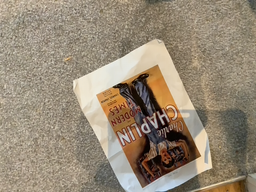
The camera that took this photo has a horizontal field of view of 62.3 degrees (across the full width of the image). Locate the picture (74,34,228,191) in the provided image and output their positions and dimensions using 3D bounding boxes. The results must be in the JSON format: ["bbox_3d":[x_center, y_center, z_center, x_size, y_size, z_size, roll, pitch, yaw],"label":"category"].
[{"bbox_3d":[0.050,0.050,0.440,0.200,0.030,0.290,-28,93,-4],"label":"picture"}]
